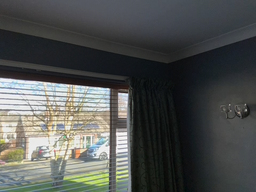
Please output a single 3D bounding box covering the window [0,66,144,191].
[{"bbox_3d":[-1.050,0.580,1.760,2.800,1.620,0.290,4,-7,-35],"label":"window"}]
